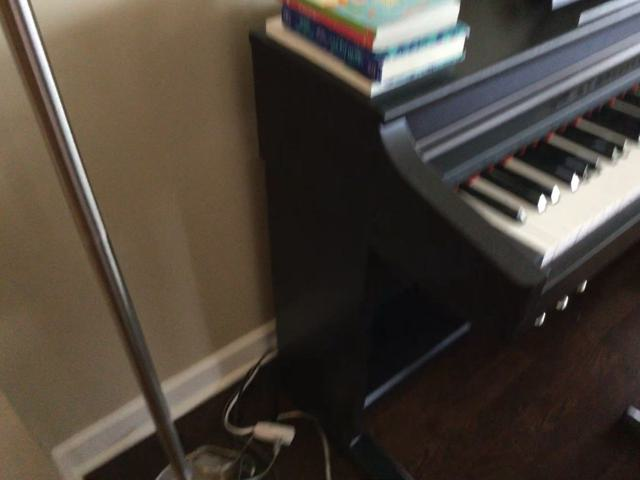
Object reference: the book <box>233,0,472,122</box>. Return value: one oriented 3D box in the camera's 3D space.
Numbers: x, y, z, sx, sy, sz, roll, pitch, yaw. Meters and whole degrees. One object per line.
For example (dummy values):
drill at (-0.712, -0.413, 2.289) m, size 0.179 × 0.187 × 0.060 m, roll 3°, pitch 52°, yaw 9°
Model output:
book at (0.030, -0.280, 0.720) m, size 0.170 × 0.110 × 0.250 m, roll -29°, pitch 52°, yaw -25°
